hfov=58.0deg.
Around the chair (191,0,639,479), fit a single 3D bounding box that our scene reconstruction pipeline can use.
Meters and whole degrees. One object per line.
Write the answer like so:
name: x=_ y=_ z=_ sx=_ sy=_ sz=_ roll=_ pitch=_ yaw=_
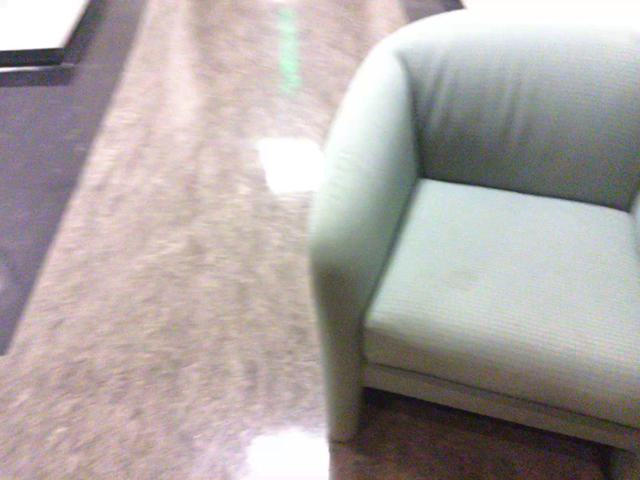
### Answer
chair: x=0.440 y=0.030 z=1.370 sx=1.050 sy=0.770 sz=0.940 roll=11 pitch=48 yaw=11
